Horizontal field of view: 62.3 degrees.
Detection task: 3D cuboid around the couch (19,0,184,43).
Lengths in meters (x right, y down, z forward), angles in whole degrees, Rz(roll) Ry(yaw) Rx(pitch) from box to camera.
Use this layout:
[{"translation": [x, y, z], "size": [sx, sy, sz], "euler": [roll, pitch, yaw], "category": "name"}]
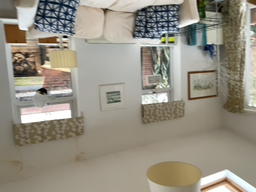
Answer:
[{"translation": [-0.360, -1.160, 2.730], "size": [1.840, 0.750, 1.070], "euler": [-6, -172, -27], "category": "couch"}]
